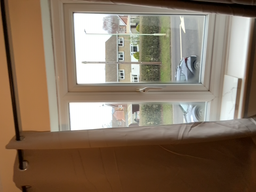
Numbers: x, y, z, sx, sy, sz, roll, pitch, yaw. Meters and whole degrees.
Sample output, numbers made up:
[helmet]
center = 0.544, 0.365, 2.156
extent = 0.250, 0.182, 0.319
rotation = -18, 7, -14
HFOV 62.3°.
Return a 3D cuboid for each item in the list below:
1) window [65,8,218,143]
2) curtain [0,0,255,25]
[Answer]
[window]
center = 0.090, -0.120, 1.470
extent = 0.110, 0.970, 0.880
rotation = -111, 21, -79
[curtain]
center = 0.040, -0.520, 0.970
extent = 0.150, 1.360, 0.340
rotation = -111, 21, -79
